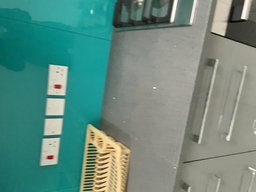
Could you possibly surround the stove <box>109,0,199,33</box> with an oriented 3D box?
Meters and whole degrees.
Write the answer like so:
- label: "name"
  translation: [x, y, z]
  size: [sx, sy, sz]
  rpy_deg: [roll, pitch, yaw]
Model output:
- label: "stove"
  translation: [0.100, -0.560, 0.830]
  size: [0.540, 0.030, 0.590]
  rpy_deg: [23, 106, 56]
